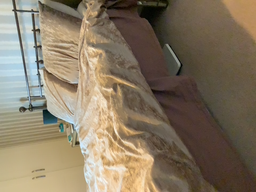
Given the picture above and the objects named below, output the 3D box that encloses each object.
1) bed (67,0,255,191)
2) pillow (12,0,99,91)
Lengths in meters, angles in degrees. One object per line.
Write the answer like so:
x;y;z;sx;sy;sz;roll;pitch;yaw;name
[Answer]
0.000;0.380;1.760;1.620;0.650;2.210;112;146;-49;bed
-0.570;-0.400;1.820;0.750;0.360;0.200;64;-177;-53;pillow
